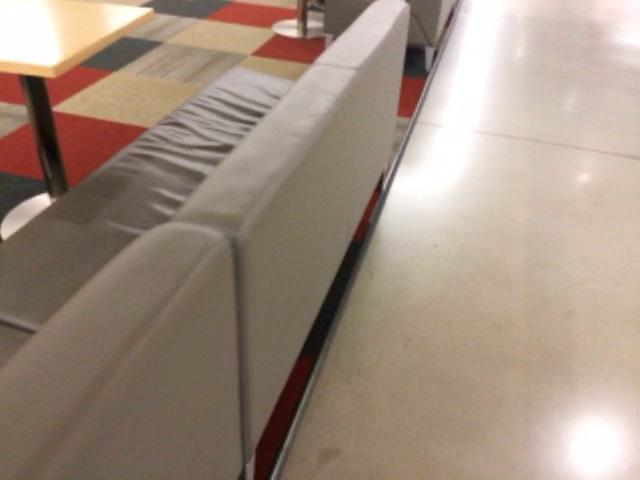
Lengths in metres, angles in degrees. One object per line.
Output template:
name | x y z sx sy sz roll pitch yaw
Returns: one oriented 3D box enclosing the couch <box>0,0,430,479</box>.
couch | -0.610 -0.050 1.510 1.360 0.810 2.250 13 38 12
